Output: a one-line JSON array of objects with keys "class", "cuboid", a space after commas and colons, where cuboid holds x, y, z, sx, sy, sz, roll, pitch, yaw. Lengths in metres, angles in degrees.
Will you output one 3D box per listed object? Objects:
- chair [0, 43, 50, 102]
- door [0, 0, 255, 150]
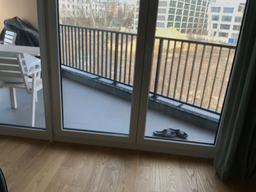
[{"class": "chair", "cuboid": [-2.200, -0.420, 3.640, 1.500, 0.880, 0.540, 1, 20, -9]}, {"class": "door", "cuboid": [-1.420, -0.680, 2.170, 5.260, 2.140, 0.430, 4, 20, 0]}]
